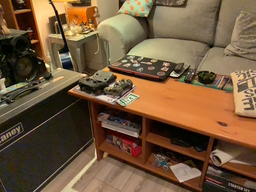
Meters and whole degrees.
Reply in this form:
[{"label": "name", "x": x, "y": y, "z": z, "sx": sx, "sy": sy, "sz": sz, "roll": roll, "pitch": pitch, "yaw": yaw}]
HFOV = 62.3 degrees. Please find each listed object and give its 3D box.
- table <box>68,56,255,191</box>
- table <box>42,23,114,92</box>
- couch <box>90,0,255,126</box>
[{"label": "table", "x": 0.310, "y": 0.190, "z": 1.250, "sx": 1.110, "sy": 0.540, "sz": 0.570, "roll": 14, "pitch": 34, "yaw": 24}, {"label": "table", "x": -0.510, "y": -0.460, "z": 2.370, "sx": 0.440, "sy": 0.550, "sz": 0.590, "roll": 14, "pitch": 33, "yaw": 25}, {"label": "couch", "x": 0.780, "y": -0.490, "z": 2.040, "sx": 1.970, "sy": 0.910, "sz": 0.980, "roll": 14, "pitch": 34, "yaw": 24}]
